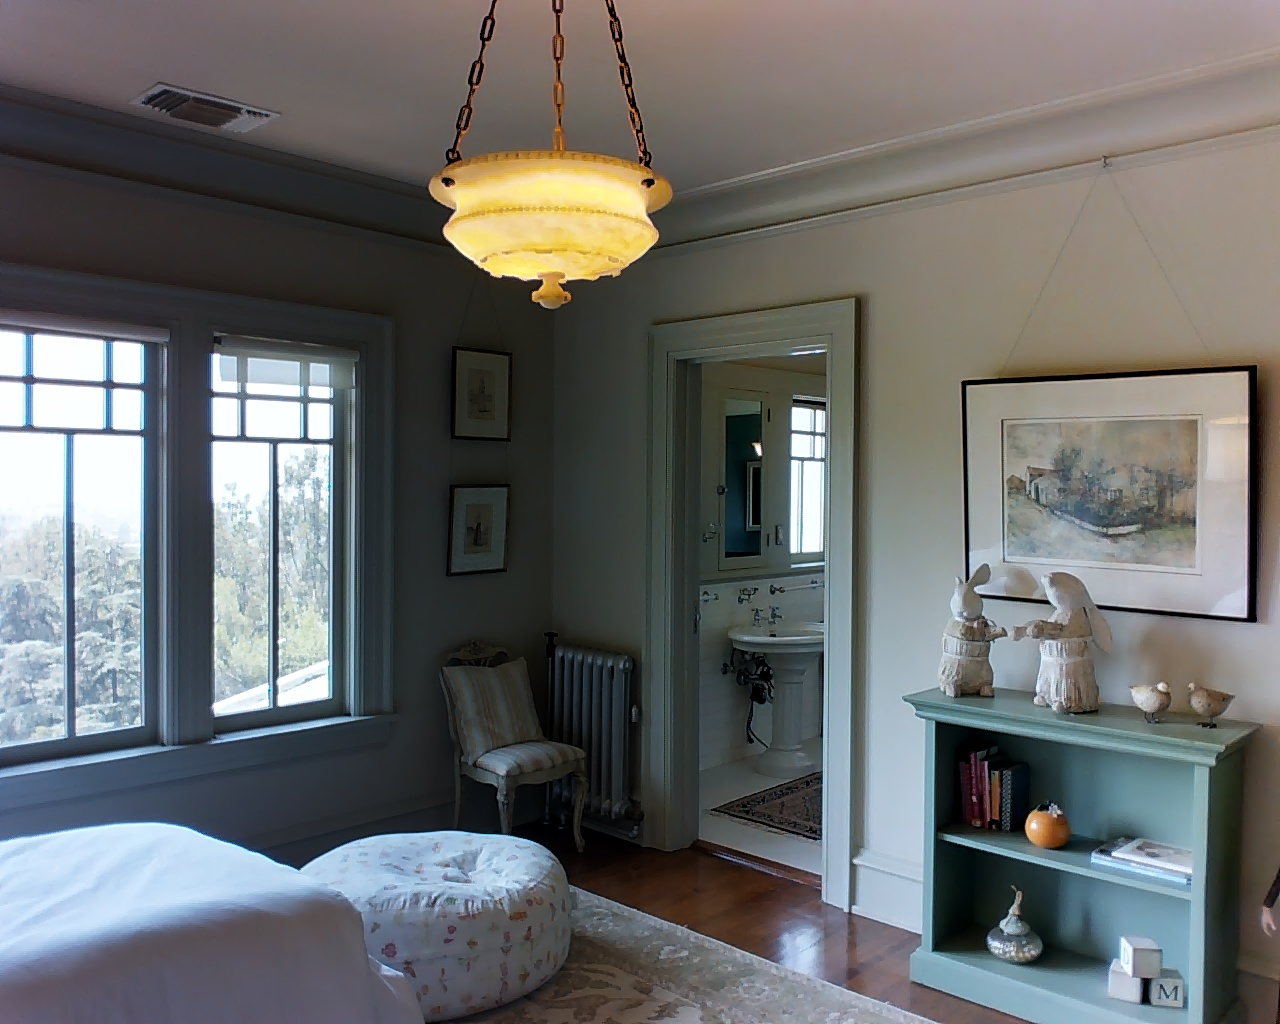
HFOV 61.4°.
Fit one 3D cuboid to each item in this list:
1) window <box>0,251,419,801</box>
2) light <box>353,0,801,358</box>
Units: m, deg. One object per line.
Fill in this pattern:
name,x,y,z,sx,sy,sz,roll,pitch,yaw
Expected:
window,-1.840,0.040,3.740,0.320,1.710,2.350,1,2,43
light,-0.150,-0.800,2.010,0.460,0.850,0.480,-1,-21,-47
